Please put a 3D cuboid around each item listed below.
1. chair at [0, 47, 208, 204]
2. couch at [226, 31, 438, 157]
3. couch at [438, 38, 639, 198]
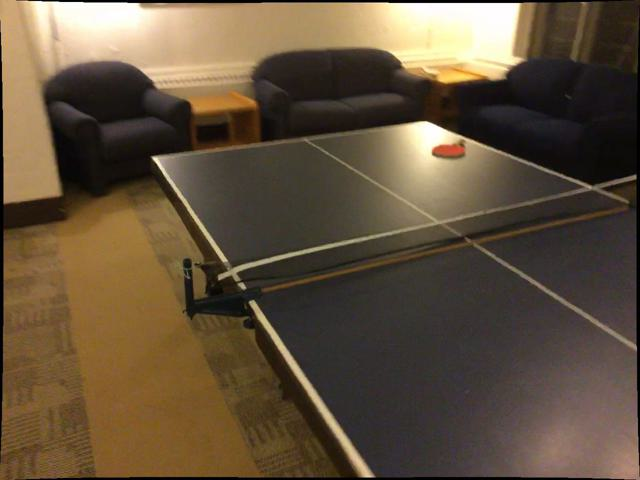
[{"bbox_3d":[-1.619,-0.941,4.390,1.060,0.861,1.000,-21,32,-38],"label":"chair"},{"bbox_3d":[0.080,-1.381,5.210,1.599,0.841,1.010,-10,26,-19],"label":"couch"},{"bbox_3d":[1.838,-1.061,4.570,0.939,0.861,1.590,-12,27,-23],"label":"couch"}]
